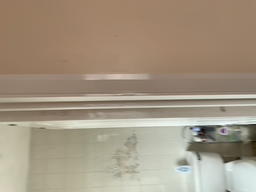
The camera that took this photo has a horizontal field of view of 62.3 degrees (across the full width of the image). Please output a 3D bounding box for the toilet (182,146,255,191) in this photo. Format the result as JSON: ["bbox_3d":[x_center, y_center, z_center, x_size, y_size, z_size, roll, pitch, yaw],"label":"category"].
[{"bbox_3d":[1.040,0.770,2.060,0.720,0.770,0.510,113,156,-77],"label":"toilet"}]
